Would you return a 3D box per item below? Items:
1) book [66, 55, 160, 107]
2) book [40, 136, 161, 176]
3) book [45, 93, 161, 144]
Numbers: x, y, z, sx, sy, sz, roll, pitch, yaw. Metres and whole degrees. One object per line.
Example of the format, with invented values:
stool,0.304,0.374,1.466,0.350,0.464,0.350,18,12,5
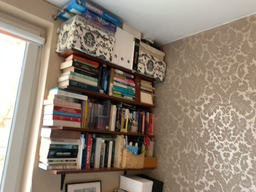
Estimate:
book,-0.080,-0.090,1.800,0.840,0.240,0.160,13,-14,-38
book,-0.140,0.470,1.660,0.990,0.230,0.160,13,-14,-38
book,-0.140,0.220,1.750,0.970,0.290,0.210,13,-14,-38
